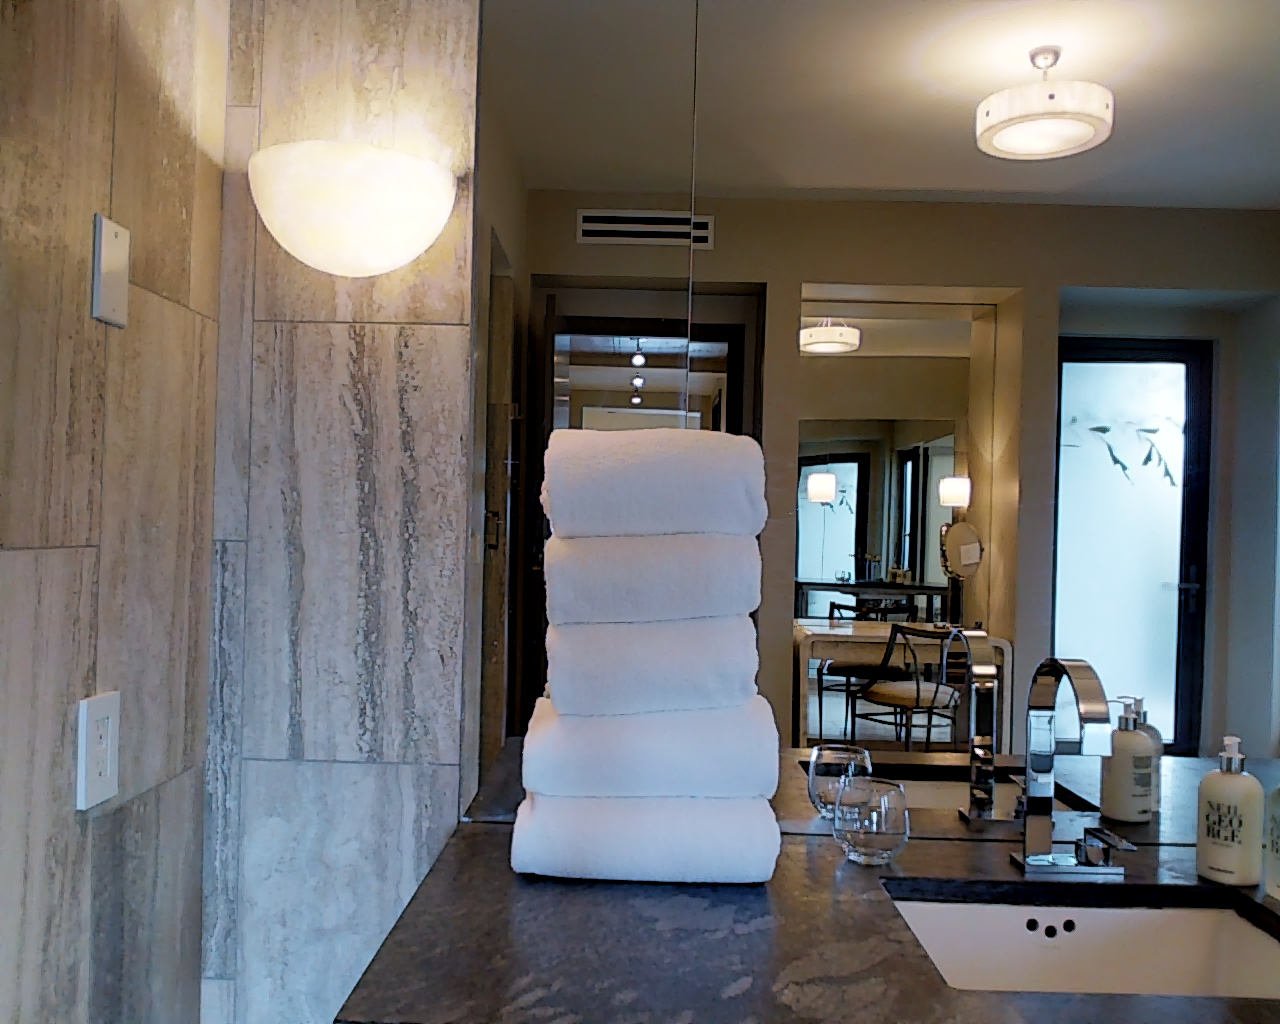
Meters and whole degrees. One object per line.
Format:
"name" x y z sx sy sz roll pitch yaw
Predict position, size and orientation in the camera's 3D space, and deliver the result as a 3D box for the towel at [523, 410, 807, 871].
"towel" 0.030 0.150 1.370 0.320 0.530 0.230 1 0 1
